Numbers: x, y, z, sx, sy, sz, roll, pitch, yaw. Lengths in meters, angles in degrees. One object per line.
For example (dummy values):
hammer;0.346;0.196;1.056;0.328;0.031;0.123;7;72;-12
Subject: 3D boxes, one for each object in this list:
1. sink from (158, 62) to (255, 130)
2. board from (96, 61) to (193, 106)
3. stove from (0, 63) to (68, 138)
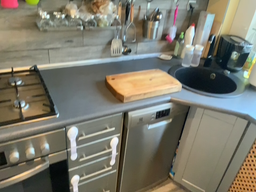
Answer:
sink;0.500;-0.020;1.480;0.510;0.220;0.440;7;31;0
board;0.100;-0.100;1.290;0.480;0.050;0.340;-13;36;-30
stove;-0.680;0.010;0.980;0.630;0.030;0.600;-12;36;-28
